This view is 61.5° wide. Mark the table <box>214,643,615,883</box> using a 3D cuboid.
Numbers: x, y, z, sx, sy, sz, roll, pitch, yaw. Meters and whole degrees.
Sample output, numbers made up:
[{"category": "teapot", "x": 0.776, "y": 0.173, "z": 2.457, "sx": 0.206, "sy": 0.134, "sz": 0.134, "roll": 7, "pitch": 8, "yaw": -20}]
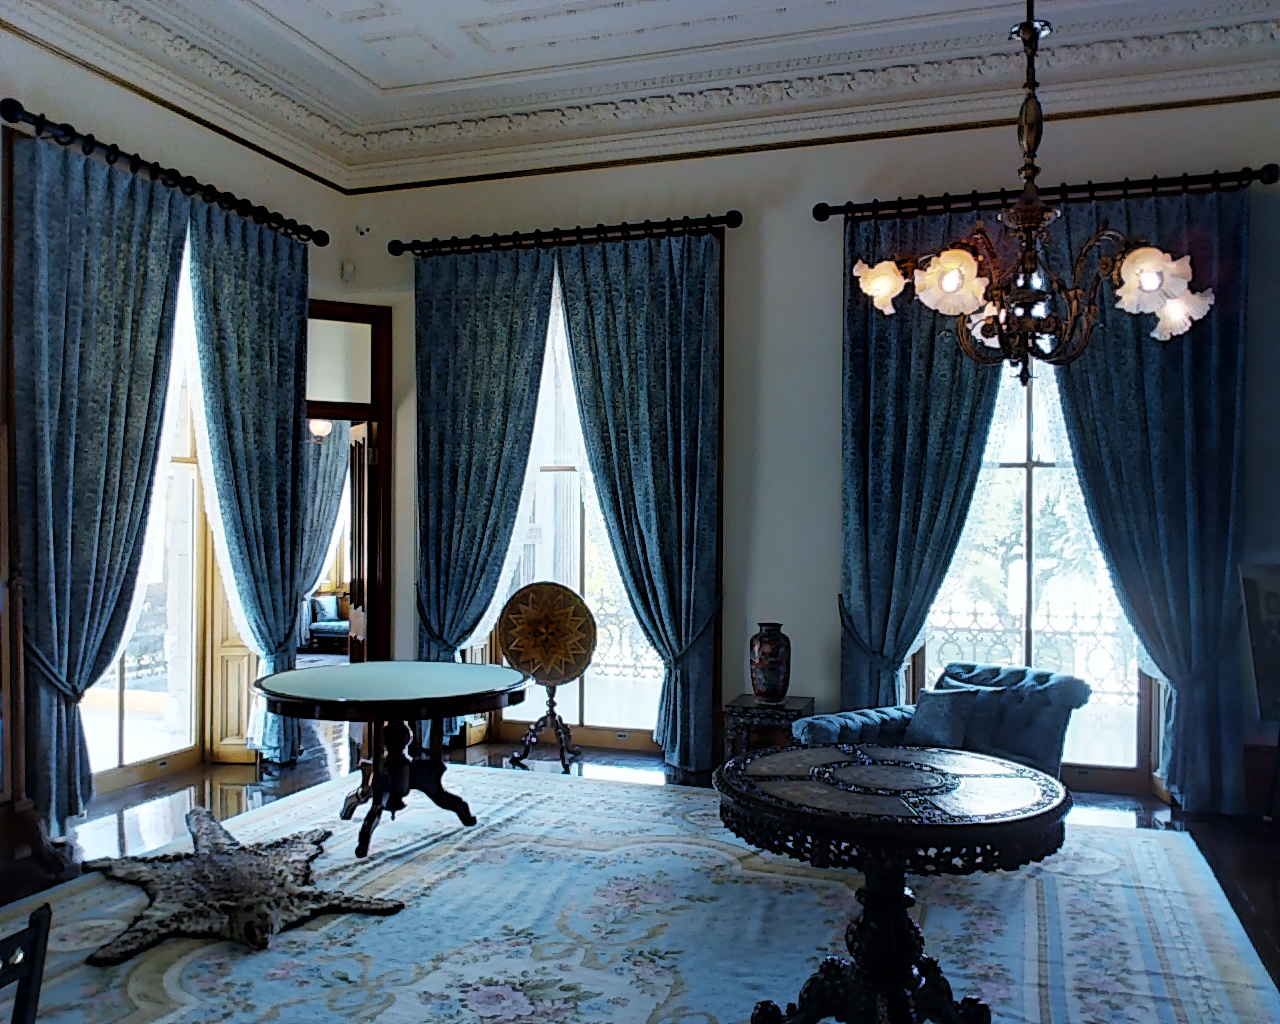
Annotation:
[{"category": "table", "x": -1.110, "y": 1.140, "z": 5.350, "sx": 1.370, "sy": 0.730, "sz": 1.410, "roll": 1, "pitch": 0, "yaw": 42}]

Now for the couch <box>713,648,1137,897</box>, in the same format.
[{"category": "couch", "x": 1.430, "y": 1.160, "z": 5.260, "sx": 1.960, "sy": 0.750, "sz": 0.980, "roll": 0, "pitch": 0, "yaw": -36}]

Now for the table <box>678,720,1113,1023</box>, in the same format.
[{"category": "table", "x": 0.750, "y": 1.120, "z": 3.060, "sx": 1.020, "sy": 0.800, "sz": 1.000, "roll": 1, "pitch": 0, "yaw": 20}]
